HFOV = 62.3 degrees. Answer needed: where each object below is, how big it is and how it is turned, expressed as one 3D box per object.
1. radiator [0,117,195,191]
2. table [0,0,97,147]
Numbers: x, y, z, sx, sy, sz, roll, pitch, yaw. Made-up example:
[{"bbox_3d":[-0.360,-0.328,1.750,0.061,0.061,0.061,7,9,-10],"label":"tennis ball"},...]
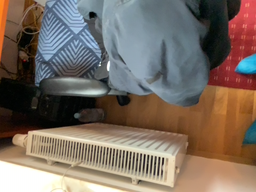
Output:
[{"bbox_3d":[-0.090,0.240,1.050,0.780,0.670,0.140,6,89,19],"label":"radiator"},{"bbox_3d":[-0.710,-0.380,1.310,0.690,0.770,1.170,5,89,19],"label":"table"}]
